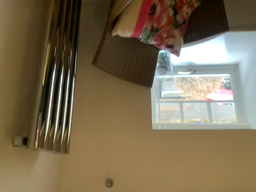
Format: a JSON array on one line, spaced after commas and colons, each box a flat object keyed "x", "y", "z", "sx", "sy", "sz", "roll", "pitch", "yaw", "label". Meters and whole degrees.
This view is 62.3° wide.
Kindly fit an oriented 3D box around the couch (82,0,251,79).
[{"x": 0.200, "y": -0.670, "z": 1.240, "sx": 0.620, "sy": 0.860, "sz": 0.620, "roll": 17, "pitch": 155, "yaw": -42, "label": "couch"}]
